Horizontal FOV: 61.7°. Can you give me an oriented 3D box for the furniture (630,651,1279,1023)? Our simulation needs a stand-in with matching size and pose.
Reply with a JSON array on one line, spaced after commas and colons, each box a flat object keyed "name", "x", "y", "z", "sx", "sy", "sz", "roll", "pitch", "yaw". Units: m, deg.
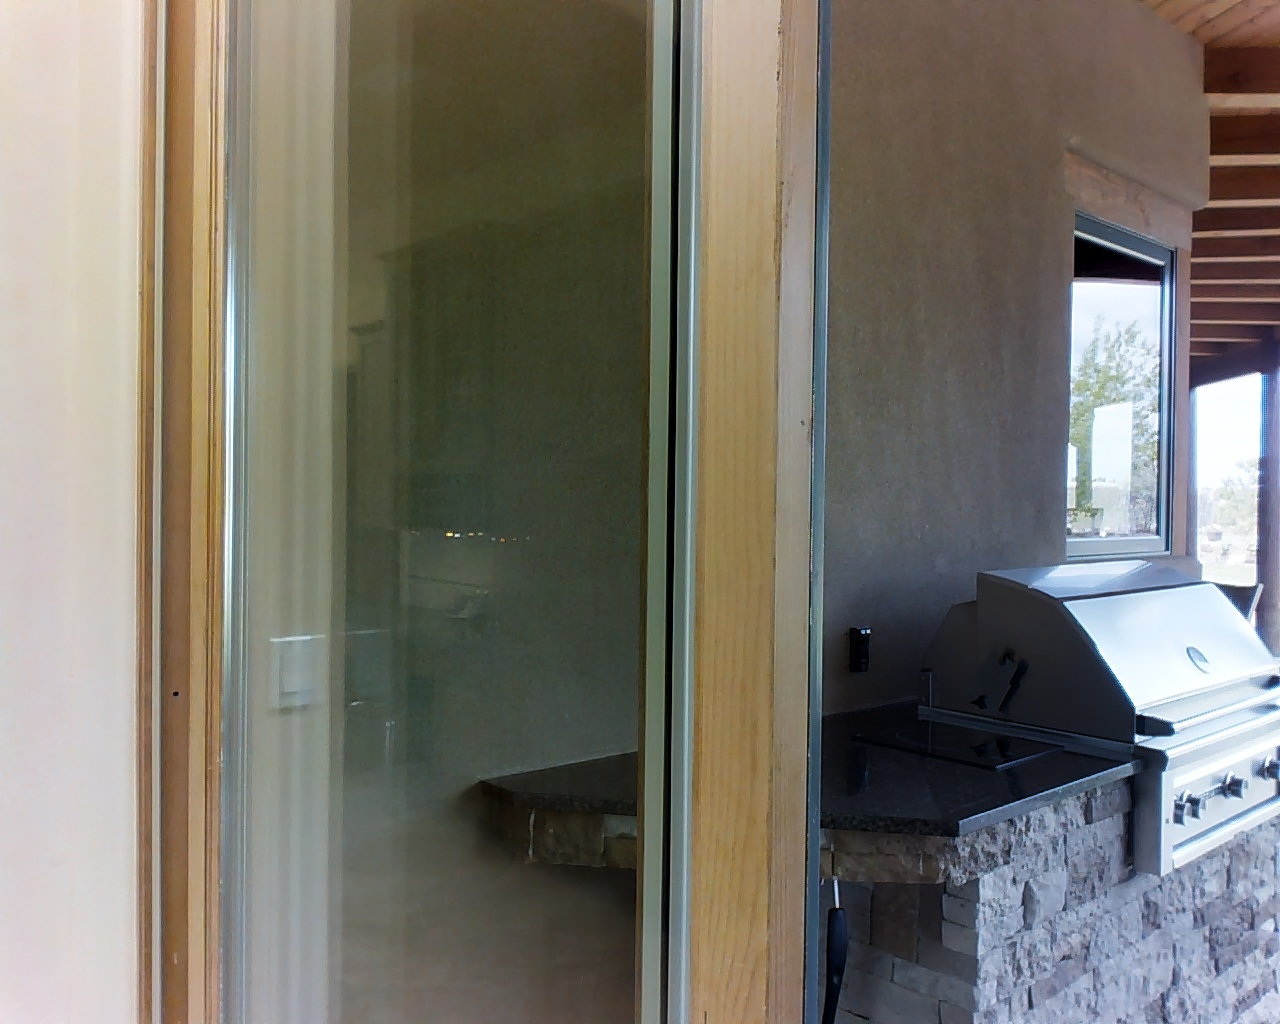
[{"name": "furniture", "x": 1.010, "y": 0.950, "z": 2.690, "sx": 2.070, "sy": 0.940, "sz": 0.760, "roll": 0, "pitch": 1, "yaw": -41}]
